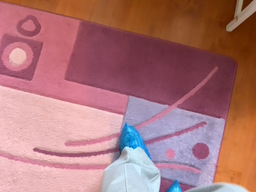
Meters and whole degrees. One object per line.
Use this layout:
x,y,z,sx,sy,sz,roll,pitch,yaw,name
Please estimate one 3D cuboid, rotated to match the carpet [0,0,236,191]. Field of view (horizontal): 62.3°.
-0.300,0.490,1.030,1.380,0.050,1.930,12,83,-1,carpet
